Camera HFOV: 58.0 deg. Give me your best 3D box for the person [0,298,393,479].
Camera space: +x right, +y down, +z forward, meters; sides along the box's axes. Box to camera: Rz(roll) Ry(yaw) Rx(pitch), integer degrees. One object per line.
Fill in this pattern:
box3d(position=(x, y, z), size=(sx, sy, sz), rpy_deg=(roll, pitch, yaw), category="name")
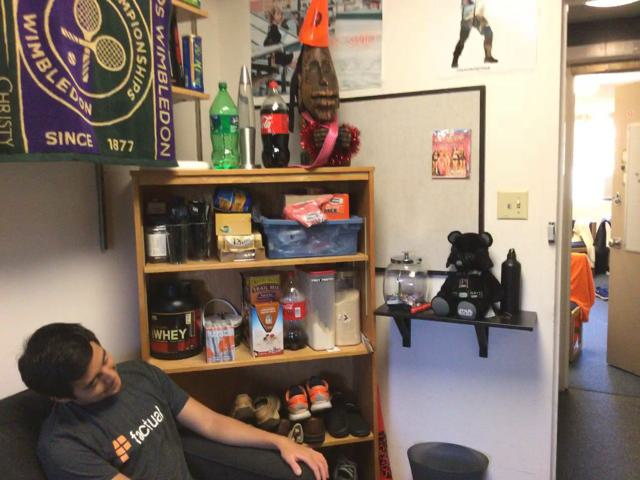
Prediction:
box3d(position=(-0.350, 0.770, 1.650), size=(0.950, 1.090, 0.610), rpy_deg=(0, 2, 29), category="person")
